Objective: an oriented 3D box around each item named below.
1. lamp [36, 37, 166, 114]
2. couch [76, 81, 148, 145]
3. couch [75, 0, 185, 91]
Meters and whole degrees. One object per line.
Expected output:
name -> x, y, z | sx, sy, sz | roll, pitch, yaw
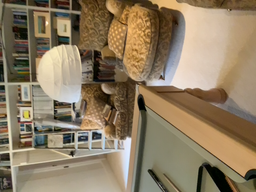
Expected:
lamp -> -0.380, -0.300, 2.750 | 0.740, 1.450, 0.700 | -137, 50, -58
couch -> -0.310, 0.190, 3.410 | 1.080, 0.820, 0.820 | -174, 82, -66
couch -> -0.150, -0.830, 2.920 | 1.630, 0.830, 0.860 | -129, 43, -53
